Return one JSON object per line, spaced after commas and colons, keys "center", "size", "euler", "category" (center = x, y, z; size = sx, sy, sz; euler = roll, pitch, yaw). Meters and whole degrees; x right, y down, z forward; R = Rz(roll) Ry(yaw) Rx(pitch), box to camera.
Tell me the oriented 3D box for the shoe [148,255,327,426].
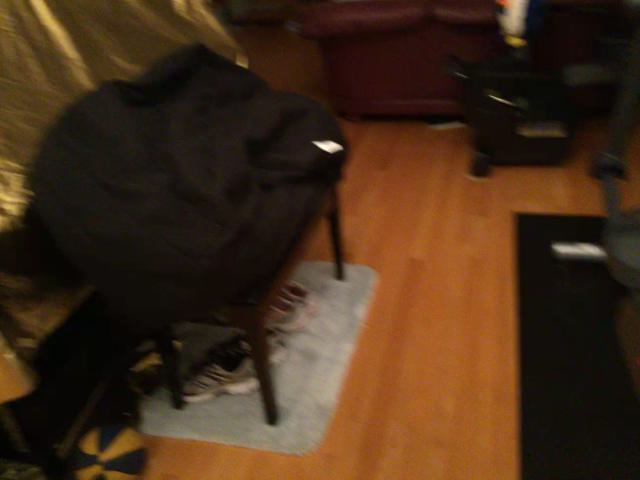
{"center": [-0.240, 0.300, 1.950], "size": [0.380, 0.150, 0.630], "euler": [3, 33, 15], "category": "shoe"}
